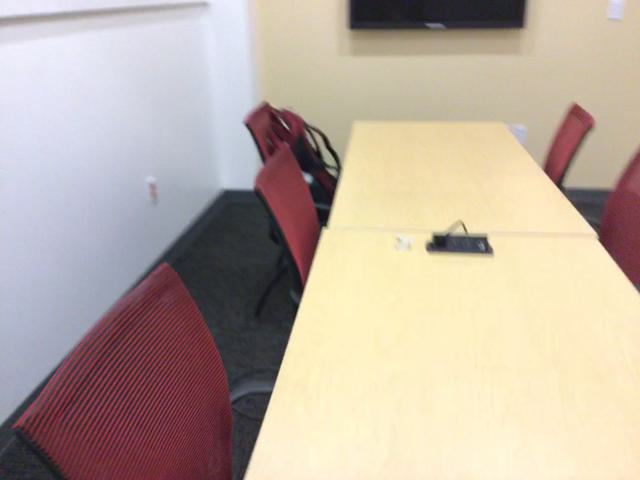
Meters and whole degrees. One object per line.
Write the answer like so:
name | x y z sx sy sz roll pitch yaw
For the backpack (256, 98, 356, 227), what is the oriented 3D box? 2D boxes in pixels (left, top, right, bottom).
backpack | -0.040 -0.360 2.590 0.360 0.470 0.440 2 23 8
